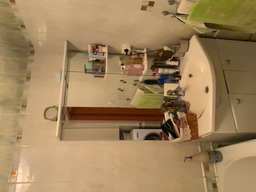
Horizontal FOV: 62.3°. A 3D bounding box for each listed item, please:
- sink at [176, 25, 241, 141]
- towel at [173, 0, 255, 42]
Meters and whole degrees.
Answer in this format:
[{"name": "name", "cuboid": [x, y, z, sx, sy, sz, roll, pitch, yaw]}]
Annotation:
[{"name": "sink", "cuboid": [0.600, -0.080, 1.720, 0.480, 0.160, 0.810, 114, 156, -67]}, {"name": "towel", "cuboid": [0.790, -0.610, 1.310, 0.660, 0.810, 0.130, 112, 158, -65]}]
